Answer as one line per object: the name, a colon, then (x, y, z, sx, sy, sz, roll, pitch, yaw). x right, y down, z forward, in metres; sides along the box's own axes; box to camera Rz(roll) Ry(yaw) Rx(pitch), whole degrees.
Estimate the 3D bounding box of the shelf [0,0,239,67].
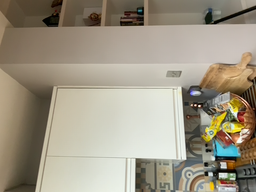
shelf: (-0.130, -0.650, 2.050, 0.280, 2.120, 0.680, 80, -168, -70)
